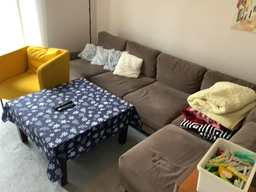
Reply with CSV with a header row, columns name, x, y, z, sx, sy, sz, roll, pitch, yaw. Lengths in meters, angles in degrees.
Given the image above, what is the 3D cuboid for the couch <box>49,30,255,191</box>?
name,x,y,z,sx,sy,sz,roll,pitch,yaw
couch,0.280,-0.100,2.810,1.120,0.800,3.150,-23,39,-40

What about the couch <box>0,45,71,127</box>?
name,x,y,z,sx,sy,sz,roll,pitch,yaw
couch,-1.290,-0.180,2.810,0.720,0.720,0.750,12,30,12

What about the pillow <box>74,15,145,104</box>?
name,x,y,z,sx,sy,sz,roll,pitch,yaw
pillow,-0.330,-0.570,3.250,0.280,0.440,1.350,-25,73,-36

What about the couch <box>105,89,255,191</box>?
name,x,y,z,sx,sy,sz,roll,pitch,yaw
couch,0.410,0.590,1.560,0.720,0.820,0.970,-19,37,-36

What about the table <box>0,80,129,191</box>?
name,x,y,z,sx,sy,sz,roll,pitch,yaw
table,-0.660,0.330,2.220,0.930,0.500,0.930,29,37,36
